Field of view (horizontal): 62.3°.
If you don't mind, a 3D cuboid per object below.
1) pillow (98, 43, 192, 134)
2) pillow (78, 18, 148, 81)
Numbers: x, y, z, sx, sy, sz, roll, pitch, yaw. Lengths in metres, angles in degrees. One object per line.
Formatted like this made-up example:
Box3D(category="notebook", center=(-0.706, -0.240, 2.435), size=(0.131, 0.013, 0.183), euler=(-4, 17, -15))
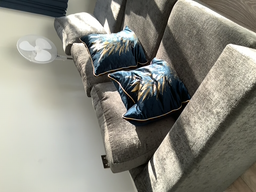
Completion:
Box3D(category="pillow", center=(0.100, -0.070, 1.400), size=(0.220, 0.430, 0.450), euler=(73, 169, -48))
Box3D(category="pillow", center=(-0.130, -0.400, 1.730), size=(0.200, 0.420, 0.480), euler=(85, 161, -45))
